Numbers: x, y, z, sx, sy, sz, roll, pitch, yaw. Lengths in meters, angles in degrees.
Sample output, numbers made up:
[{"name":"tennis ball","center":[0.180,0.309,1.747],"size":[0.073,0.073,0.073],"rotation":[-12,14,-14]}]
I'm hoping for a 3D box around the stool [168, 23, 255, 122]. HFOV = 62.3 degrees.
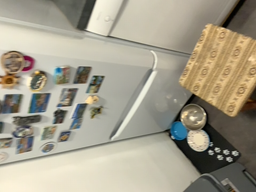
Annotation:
[{"name":"stool","center":[0.520,-0.110,1.060],"size":[0.340,0.460,0.300],"rotation":[41,118,38]}]
